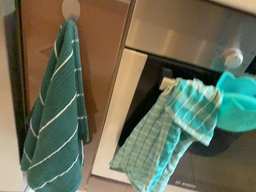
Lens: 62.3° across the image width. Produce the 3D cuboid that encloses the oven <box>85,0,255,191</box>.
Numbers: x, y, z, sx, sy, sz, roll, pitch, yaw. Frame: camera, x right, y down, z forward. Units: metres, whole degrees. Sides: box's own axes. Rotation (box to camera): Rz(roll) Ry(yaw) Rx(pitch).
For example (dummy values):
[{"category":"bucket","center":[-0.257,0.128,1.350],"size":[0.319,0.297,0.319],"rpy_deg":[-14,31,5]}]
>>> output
[{"category":"oven","center":[0.280,-0.080,0.770],"size":[0.620,0.640,0.670],"rpy_deg":[15,37,-3]}]
